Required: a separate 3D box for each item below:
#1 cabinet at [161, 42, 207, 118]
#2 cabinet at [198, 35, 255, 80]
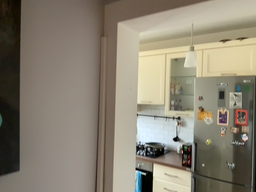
[{"bbox_3d":[0.770,-0.200,2.920,0.500,0.940,0.350,2,0,35],"label":"cabinet"},{"bbox_3d":[1.260,-0.440,2.580,0.680,0.440,0.370,2,0,35],"label":"cabinet"}]
